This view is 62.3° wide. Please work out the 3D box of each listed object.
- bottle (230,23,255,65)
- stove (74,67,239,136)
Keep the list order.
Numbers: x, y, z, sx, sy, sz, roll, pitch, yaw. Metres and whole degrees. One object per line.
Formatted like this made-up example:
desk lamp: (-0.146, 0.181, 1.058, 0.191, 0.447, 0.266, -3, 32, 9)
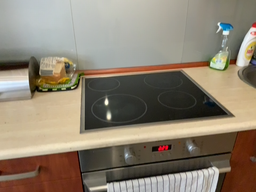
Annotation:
bottle: (0.700, -0.300, 1.220, 0.150, 0.220, 0.070, -5, 29, -11)
stove: (0.070, -0.020, 0.970, 0.600, 0.010, 0.520, -5, 29, -10)
